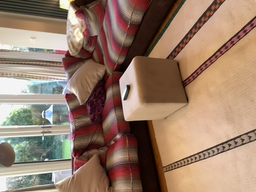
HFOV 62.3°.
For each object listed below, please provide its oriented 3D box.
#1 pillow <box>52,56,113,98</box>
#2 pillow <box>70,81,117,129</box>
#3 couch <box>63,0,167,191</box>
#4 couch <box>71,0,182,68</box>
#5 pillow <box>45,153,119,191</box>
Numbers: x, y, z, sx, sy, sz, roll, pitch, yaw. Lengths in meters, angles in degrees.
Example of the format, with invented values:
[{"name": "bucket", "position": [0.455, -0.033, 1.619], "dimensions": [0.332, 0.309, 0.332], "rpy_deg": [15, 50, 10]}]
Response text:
[{"name": "pillow", "position": [-0.580, -0.250, 2.790], "dimensions": [0.570, 0.500, 0.260], "rpy_deg": [1, 135, 29]}, {"name": "pillow", "position": [-0.420, 0.110, 2.620], "dimensions": [0.390, 0.380, 0.240], "rpy_deg": [36, 142, 4]}, {"name": "couch", "position": [-0.350, 0.230, 2.750], "dimensions": [1.110, 0.740, 2.890], "rpy_deg": [125, 140, -54]}, {"name": "couch", "position": [-0.150, -1.070, 2.290], "dimensions": [1.000, 0.740, 1.110], "rpy_deg": [125, 140, -54]}, {"name": "pillow", "position": [-0.480, 0.980, 2.290], "dimensions": [0.500, 0.570, 0.210], "rpy_deg": [20, 133, 36]}]
